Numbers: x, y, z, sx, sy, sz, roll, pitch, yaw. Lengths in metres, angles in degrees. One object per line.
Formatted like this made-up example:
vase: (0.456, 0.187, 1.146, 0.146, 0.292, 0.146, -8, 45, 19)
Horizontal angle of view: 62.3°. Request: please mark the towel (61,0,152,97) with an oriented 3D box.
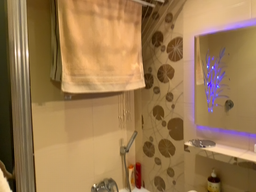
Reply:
towel: (-0.120, -0.390, 1.580, 0.700, 0.740, 0.170, -5, 5, -42)
